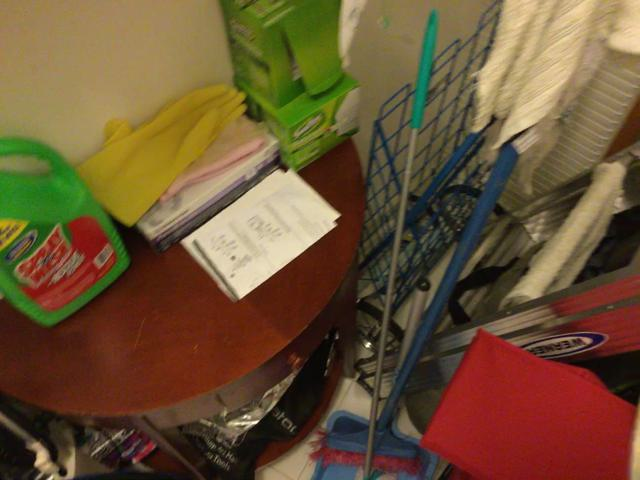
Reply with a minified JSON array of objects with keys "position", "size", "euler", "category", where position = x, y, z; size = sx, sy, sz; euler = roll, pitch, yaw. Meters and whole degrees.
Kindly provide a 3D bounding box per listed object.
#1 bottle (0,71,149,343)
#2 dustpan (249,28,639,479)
[{"position":[-0.400,-0.030,0.800],"size":[0.150,0.310,0.190],"euler":[40,66,23],"category":"bottle"},{"position":[0.160,0.250,1.020],"size":[0.280,1.130,0.360],"euler":[25,61,16],"category":"dustpan"}]
